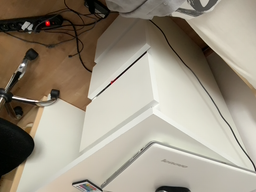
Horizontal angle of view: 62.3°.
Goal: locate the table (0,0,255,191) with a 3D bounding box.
[{"bbox_3d":[-0.070,0.110,1.000,0.510,0.760,0.870,34,126,-30],"label":"table"}]
